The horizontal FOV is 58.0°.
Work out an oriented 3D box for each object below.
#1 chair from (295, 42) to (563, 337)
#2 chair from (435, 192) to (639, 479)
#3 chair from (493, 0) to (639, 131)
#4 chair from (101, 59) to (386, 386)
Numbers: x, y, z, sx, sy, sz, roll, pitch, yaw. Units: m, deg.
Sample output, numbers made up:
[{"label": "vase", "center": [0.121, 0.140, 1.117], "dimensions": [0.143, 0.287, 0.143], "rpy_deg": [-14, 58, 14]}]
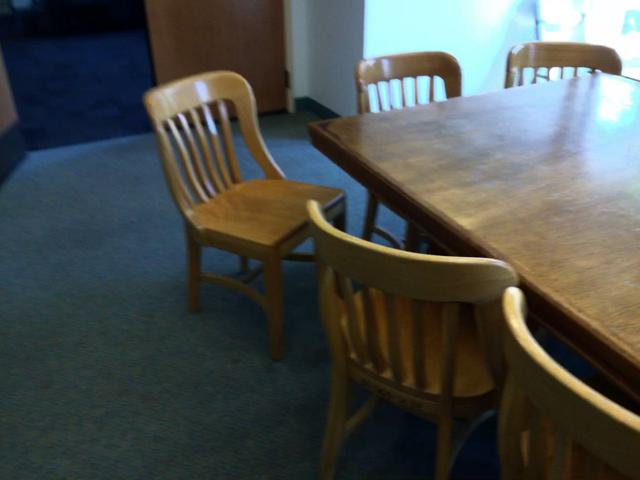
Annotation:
[{"label": "chair", "center": [0.370, -0.230, 2.190], "dimensions": [0.700, 0.830, 0.580], "rpy_deg": [-16, 32, -21]}, {"label": "chair", "center": [0.520, 0.430, 1.000], "dimensions": [0.430, 0.850, 0.460], "rpy_deg": [-16, 32, -21]}, {"label": "chair", "center": [1.590, -1.230, 3.750], "dimensions": [0.650, 0.810, 0.510], "rpy_deg": [-16, 32, -21]}, {"label": "chair", "center": [-0.210, -0.110, 2.020], "dimensions": [0.660, 0.840, 0.600], "rpy_deg": [17, 35, 31]}]
